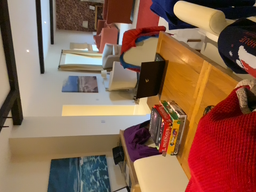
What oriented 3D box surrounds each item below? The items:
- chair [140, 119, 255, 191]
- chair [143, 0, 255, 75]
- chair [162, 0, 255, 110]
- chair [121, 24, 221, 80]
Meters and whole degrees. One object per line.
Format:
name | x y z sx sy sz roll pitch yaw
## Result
chair | 0.710 0.580 1.970 0.450 1.030 0.560 -112 27 -57
chair | 0.750 -0.540 1.770 0.450 1.090 0.560 -111 26 -56
chair | 0.850 -0.270 1.360 0.450 1.060 0.560 -111 26 -56
chair | 0.510 -0.570 2.760 0.560 1.060 0.450 -108 24 -52
